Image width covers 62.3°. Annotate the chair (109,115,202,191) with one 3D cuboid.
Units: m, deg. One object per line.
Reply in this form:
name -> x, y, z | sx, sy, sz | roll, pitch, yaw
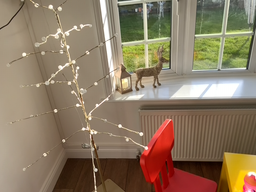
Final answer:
chair -> 0.180, 0.530, 1.260 | 0.360, 0.670, 0.390 | 11, 32, 25
